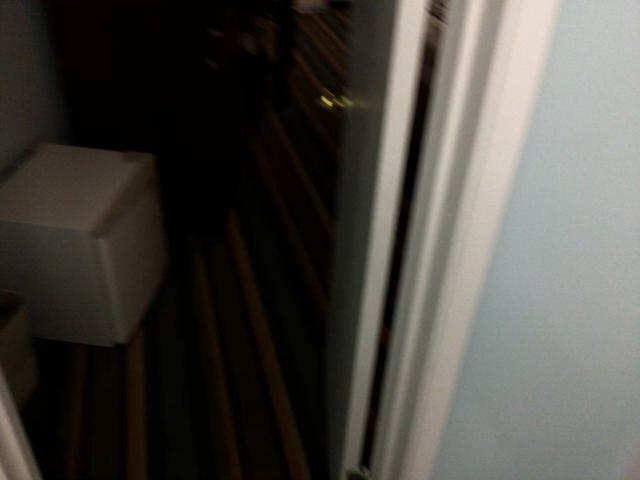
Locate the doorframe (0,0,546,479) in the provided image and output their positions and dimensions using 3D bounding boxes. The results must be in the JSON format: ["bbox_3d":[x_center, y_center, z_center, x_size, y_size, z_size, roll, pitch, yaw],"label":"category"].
[{"bbox_3d":[-0.210,0.250,0.930,0.710,1.290,0.280,-6,36,-16],"label":"doorframe"}]
